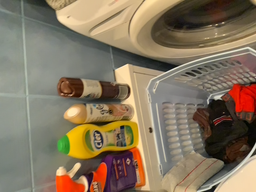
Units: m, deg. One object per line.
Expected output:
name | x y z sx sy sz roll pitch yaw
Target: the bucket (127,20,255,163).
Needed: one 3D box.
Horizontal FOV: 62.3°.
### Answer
bucket | 0.340 0.030 0.780 0.390 0.530 0.290 -21 74 38
